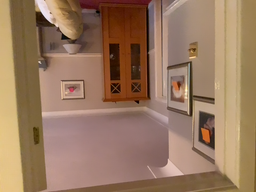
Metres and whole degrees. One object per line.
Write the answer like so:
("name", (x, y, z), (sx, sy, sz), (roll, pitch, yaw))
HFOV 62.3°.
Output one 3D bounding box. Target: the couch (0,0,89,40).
("couch", (-1.050, -1.290, 2.700), (0.970, 0.890, 1.560), (-3, -174, -13))
